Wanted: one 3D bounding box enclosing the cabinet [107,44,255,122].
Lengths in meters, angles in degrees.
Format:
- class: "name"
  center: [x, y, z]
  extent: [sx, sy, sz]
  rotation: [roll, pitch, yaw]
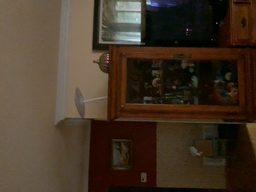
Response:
- class: "cabinet"
  center: [0.760, -0.080, 1.990]
  extent: [0.530, 1.850, 0.620]
  rotation: [91, 180, -84]
